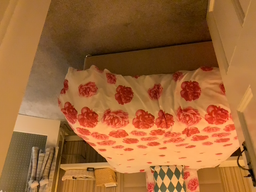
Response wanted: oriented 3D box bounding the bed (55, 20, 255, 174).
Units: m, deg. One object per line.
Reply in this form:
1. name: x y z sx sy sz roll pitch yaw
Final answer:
1. bed: 0.420 0.300 2.400 1.520 0.730 2.000 -6 150 9
